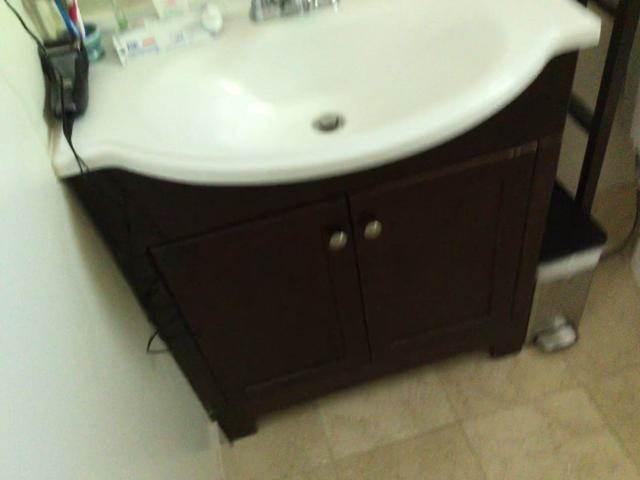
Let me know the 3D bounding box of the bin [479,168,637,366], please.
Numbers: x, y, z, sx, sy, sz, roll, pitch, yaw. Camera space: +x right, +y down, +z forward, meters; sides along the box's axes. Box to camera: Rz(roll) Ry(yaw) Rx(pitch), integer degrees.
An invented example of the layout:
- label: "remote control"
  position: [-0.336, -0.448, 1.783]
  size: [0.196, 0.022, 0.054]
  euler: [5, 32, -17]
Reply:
- label: "bin"
  position: [0.540, 0.070, 1.380]
  size: [0.210, 0.360, 0.250]
  euler: [-17, 45, -4]
